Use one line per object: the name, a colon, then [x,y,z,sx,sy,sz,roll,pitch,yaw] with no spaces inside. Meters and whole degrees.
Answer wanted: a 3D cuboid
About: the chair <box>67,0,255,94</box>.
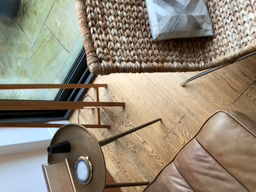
chair: [0.280,-0.440,0.870,0.730,0.740,0.660,-19,78,34]
